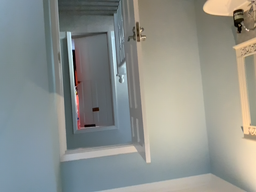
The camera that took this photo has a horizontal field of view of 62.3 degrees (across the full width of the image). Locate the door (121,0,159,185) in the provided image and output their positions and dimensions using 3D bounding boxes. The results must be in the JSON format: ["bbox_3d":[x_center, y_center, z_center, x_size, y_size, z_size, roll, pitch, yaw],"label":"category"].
[{"bbox_3d":[0.060,-0.430,1.980,0.100,2.150,0.880,-4,179,-4],"label":"door"}]
